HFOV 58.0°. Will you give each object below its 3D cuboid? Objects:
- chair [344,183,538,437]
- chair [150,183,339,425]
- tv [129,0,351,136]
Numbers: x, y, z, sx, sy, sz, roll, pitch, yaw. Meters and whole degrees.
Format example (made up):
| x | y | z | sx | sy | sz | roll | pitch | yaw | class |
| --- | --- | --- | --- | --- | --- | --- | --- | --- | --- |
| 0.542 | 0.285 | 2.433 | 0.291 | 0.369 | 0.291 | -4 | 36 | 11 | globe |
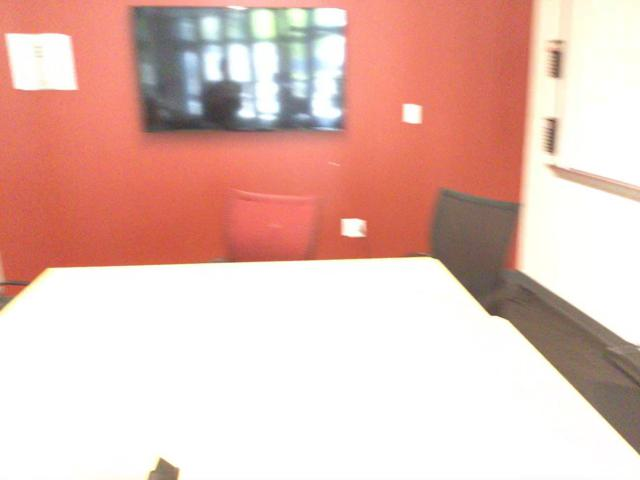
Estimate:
| x | y | z | sx | sy | sz | roll | pitch | yaw | class |
| --- | --- | --- | --- | --- | --- | --- | --- | --- | --- |
| 0.520 | 0.240 | 2.500 | 0.650 | 0.860 | 0.490 | -13 | 17 | -38 | chair |
| -0.290 | 0.230 | 2.550 | 0.570 | 0.870 | 0.580 | 3 | 15 | 20 | chair |
| -0.440 | -1.020 | 3.380 | 1.210 | 0.750 | 0.160 | -4 | 14 | -6 | tv |
